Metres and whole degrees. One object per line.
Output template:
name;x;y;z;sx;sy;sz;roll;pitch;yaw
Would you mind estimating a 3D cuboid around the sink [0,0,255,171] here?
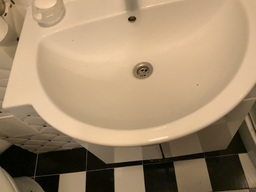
sink;0.030;-0.090;0.550;0.640;0.170;0.460;-9;60;9
